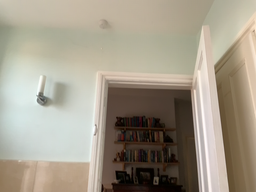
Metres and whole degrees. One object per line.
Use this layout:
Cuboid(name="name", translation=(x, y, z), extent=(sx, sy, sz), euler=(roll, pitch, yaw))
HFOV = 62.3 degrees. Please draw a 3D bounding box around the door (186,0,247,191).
Cuboid(name="door", translation=(0.500, 0.610, 1.240), extent=(0.140, 2.330, 1.000), euler=(-4, -21, 14))
